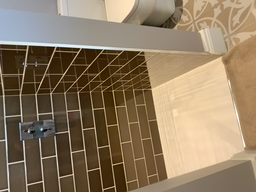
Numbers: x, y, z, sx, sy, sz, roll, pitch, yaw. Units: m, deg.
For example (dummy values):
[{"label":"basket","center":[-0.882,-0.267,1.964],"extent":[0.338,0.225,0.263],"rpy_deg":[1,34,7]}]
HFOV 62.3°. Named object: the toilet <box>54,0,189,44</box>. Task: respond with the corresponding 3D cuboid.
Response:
[{"label":"toilet","center":[-0.080,-0.730,1.630],"extent":[0.600,0.810,0.380],"rpy_deg":[-24,72,59]}]
